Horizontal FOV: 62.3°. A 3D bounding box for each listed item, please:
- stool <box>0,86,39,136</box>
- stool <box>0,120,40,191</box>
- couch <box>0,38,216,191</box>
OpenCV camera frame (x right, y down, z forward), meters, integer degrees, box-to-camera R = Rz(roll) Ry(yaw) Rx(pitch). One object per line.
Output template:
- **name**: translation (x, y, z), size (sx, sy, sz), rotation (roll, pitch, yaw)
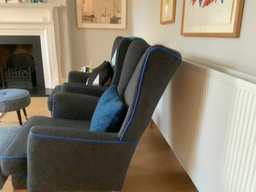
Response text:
- **stool**: translation (-1.260, 0.140, 2.270), size (0.450, 0.390, 0.450), rotation (-2, 17, -10)
- **stool**: translation (-0.830, 0.450, 1.320), size (0.370, 0.370, 0.590), rotation (-2, 17, -10)
- **couch**: translation (-0.170, 0.160, 1.310), size (0.950, 0.960, 0.750), rotation (-2, 17, -10)
